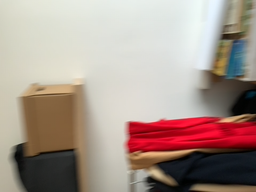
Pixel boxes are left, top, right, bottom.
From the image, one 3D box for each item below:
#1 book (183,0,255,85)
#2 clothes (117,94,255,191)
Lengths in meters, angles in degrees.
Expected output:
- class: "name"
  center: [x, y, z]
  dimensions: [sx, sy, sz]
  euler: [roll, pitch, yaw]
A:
- class: "book"
  center: [0.560, -0.410, 1.290]
  dimensions: [0.360, 0.270, 0.610]
  euler: [-119, 29, -72]
- class: "clothes"
  center: [0.460, 0.260, 1.250]
  dimensions: [0.770, 0.980, 0.350]
  euler: [-123, 33, -74]
